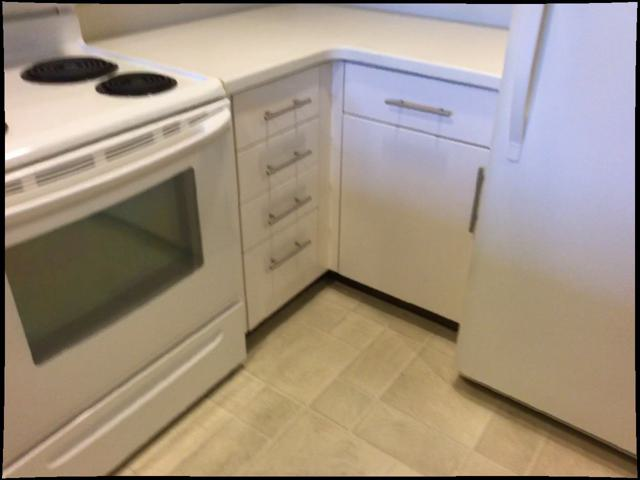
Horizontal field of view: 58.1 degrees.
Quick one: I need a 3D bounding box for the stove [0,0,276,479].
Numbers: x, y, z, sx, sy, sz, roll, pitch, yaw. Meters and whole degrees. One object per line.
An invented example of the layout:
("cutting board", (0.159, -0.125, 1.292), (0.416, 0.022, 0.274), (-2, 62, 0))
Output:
("stove", (-0.688, -0.060, 1.480), (0.719, 1.222, 0.900), (22, 36, 30))
